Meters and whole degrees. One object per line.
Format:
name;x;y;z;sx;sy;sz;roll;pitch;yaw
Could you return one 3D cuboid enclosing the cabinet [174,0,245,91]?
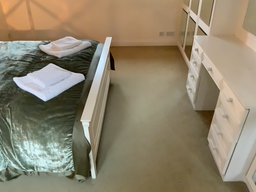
cabinet;1.070;-1.530;2.930;0.310;2.350;1.760;-1;34;0
